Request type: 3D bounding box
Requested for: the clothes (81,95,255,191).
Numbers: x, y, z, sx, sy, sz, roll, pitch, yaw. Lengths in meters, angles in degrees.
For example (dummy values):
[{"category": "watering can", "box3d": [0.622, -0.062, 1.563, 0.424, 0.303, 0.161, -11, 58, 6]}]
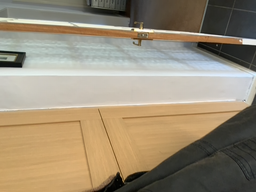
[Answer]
[{"category": "clothes", "box3d": [0.320, 0.210, 0.610, 0.380, 0.840, 0.280, -125, 39, -58]}]
